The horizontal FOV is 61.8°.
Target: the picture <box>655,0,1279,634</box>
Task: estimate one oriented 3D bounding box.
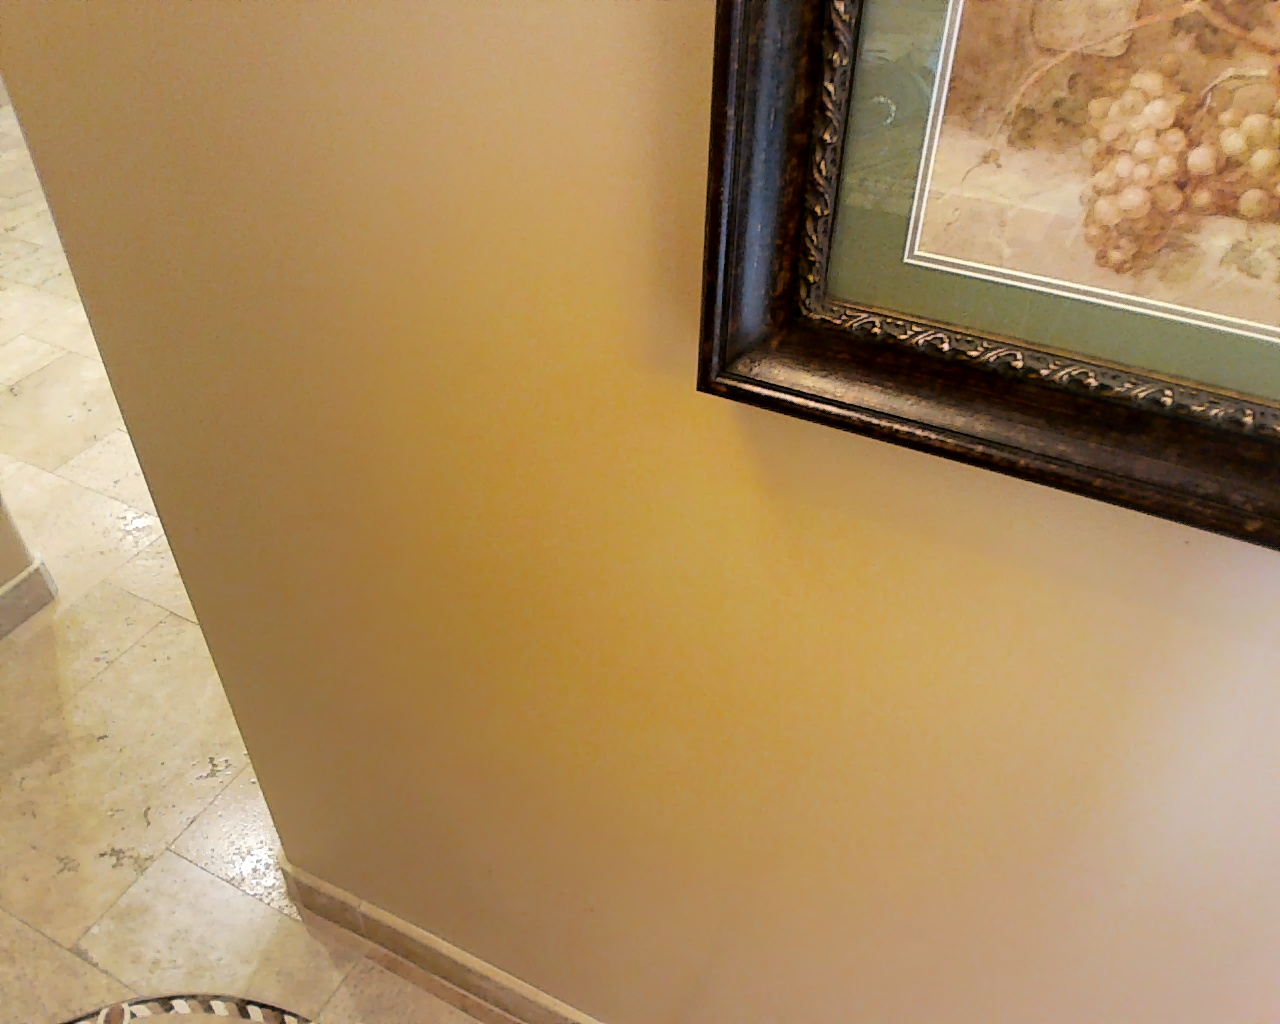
[{"bbox_3d":[0.260,-0.160,0.500,0.530,0.460,0.060,18,44,20],"label":"picture"}]
